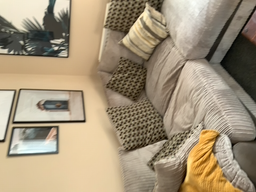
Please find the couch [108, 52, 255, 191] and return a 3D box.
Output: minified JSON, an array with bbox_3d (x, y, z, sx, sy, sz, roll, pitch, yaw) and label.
[{"bbox_3d":[0.440,0.440,1.640,0.960,0.850,1.130,-110,28,-43],"label":"couch"}]
